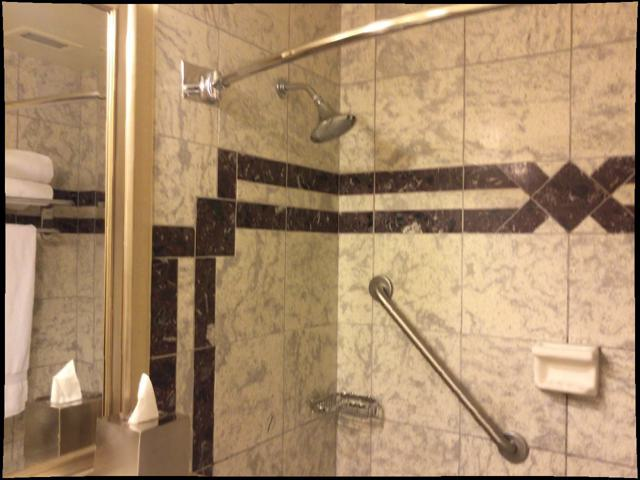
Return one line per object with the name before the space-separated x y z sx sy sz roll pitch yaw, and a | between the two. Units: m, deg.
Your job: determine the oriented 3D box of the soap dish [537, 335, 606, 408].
soap dish | 0.679 0.350 1.560 0.160 0.160 0.080 0 2 32
